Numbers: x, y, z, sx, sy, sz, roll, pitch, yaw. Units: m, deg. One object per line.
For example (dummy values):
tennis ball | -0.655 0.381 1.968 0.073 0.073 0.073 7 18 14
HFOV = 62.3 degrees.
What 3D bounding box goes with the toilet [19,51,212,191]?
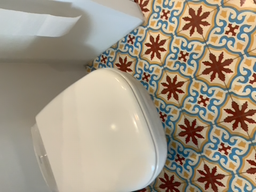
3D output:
toilet | -0.060 0.130 0.810 0.540 0.380 0.360 -25 81 36
